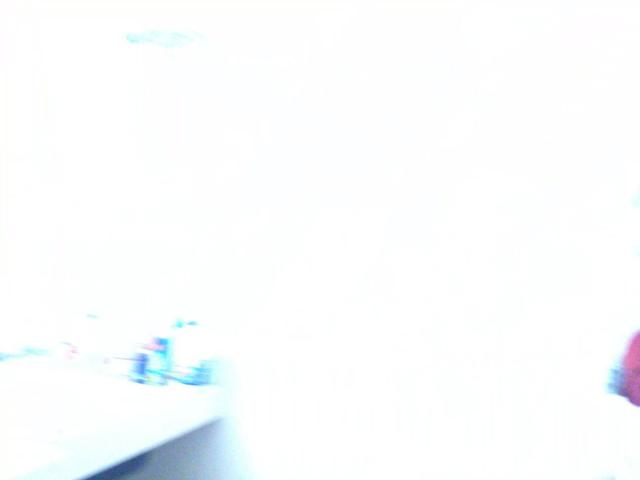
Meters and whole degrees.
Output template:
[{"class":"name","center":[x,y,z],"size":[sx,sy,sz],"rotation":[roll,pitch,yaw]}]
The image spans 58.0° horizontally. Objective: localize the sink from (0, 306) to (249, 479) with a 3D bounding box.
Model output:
[{"class":"sink","center":[-0.900,0.570,2.260],"size":[0.670,0.510,1.150],"rotation":[6,-2,25]}]
